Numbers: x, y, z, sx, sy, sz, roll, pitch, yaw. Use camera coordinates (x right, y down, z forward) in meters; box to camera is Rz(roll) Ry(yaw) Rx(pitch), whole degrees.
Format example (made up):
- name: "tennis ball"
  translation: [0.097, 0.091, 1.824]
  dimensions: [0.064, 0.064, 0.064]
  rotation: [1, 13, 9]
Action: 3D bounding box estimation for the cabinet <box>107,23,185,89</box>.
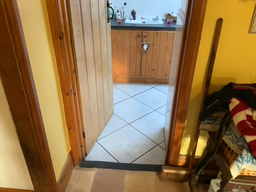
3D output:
- name: "cabinet"
  translation: [0.260, -0.650, 3.340]
  dimensions: [1.050, 0.820, 0.610]
  rotation: [4, 31, 5]
